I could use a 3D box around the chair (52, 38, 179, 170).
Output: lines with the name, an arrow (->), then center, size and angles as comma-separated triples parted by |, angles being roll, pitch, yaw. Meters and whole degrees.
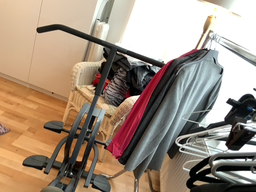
chair -> -0.130, 0.020, 1.950 | 0.690, 0.830, 0.650 | 35, 27, 26
